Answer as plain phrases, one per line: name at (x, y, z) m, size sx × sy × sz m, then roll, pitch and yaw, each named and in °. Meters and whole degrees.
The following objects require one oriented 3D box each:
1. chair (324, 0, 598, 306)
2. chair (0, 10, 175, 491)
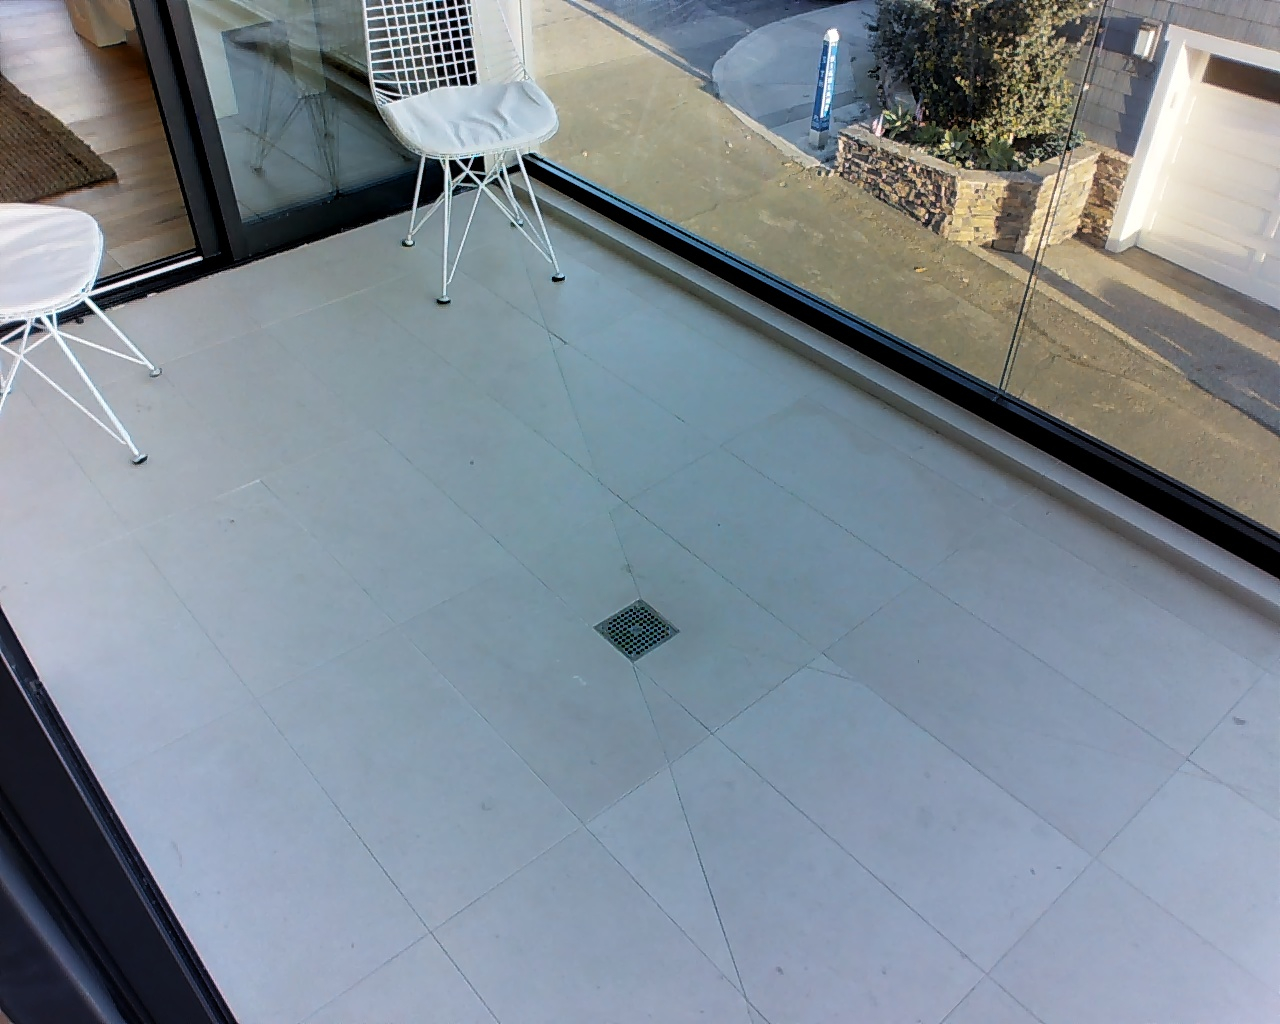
chair at (-0.520, -1.200, 3.100) m, size 0.580 × 0.890 × 0.660 m, roll -15°, pitch 44°, yaw -17°
chair at (-1.510, -0.560, 2.400) m, size 0.660 × 0.830 × 0.610 m, roll -11°, pitch 43°, yaw -13°
